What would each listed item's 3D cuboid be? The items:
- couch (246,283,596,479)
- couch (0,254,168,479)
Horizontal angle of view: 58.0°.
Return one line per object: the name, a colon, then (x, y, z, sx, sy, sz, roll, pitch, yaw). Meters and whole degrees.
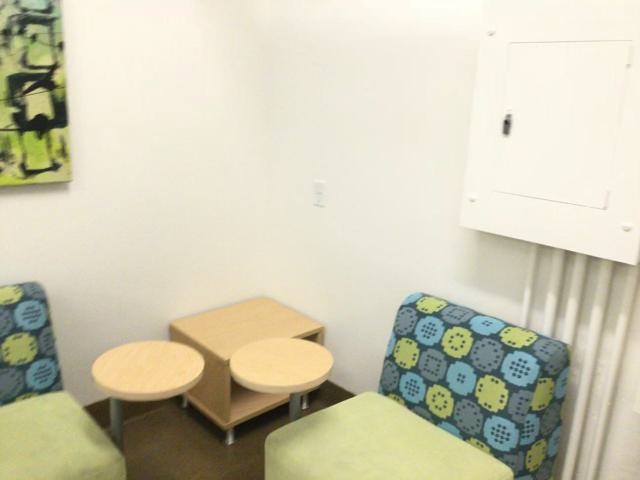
couch: (0.290, 0.660, 1.850, 0.790, 0.780, 0.700, -8, 17, -38)
couch: (-0.980, 0.600, 1.760, 0.810, 0.880, 0.670, 14, 17, 41)
